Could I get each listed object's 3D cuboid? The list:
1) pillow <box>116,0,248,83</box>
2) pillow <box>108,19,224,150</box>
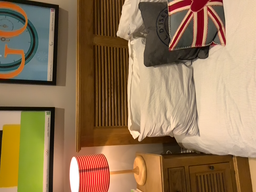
[{"bbox_3d":[0.280,-0.460,1.240,0.230,0.570,0.580,7,-115,-62],"label":"pillow"},{"bbox_3d":[0.240,-0.050,1.420,0.220,0.550,0.670,0,-109,-65],"label":"pillow"}]
